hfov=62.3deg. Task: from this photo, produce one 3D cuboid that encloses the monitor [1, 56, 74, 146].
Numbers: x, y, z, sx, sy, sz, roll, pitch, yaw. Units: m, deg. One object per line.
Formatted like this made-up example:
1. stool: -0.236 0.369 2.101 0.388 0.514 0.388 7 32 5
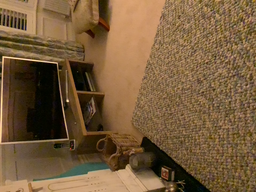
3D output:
1. monitor: -0.990 0.020 2.310 0.060 0.650 1.050 -50 47 41
